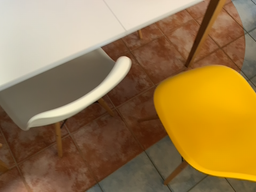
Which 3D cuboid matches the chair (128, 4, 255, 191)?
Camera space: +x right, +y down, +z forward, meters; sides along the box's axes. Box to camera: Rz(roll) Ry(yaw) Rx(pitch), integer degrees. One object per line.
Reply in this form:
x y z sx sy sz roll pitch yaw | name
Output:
0.370 0.120 0.940 0.460 0.790 0.540 -18 70 -16 | chair

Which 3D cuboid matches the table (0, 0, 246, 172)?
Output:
-0.270 -0.370 1.080 1.410 0.760 0.790 -28 73 -19 | table

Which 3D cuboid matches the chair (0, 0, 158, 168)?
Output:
-0.320 -0.090 0.930 0.460 0.790 0.540 -40 78 -22 | chair
